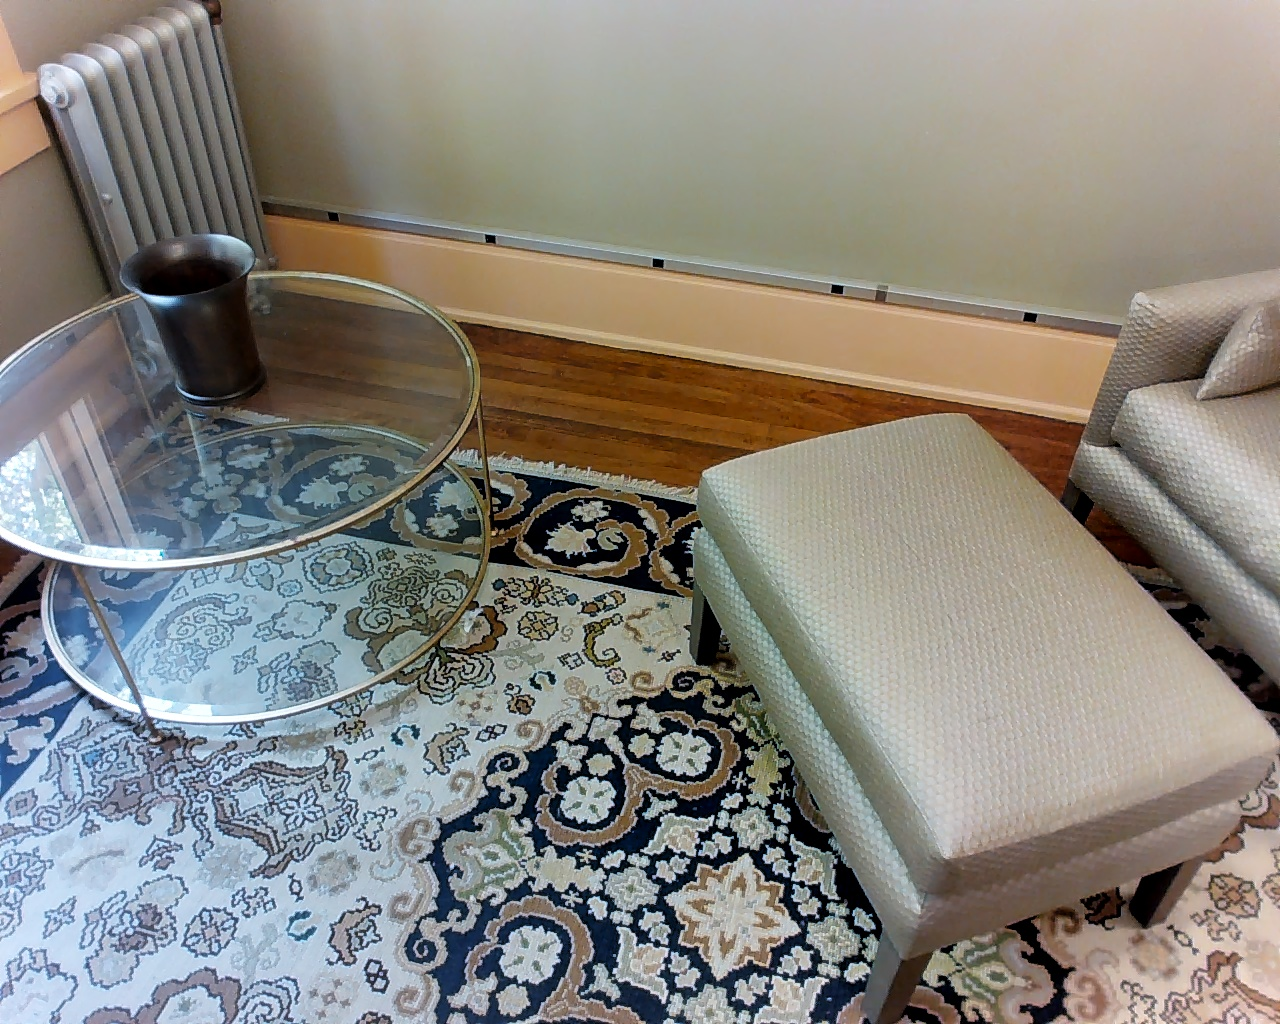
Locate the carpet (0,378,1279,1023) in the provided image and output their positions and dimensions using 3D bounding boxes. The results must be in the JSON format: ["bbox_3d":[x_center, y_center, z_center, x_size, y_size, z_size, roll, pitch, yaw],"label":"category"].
[{"bbox_3d":[0.100,0.600,1.700,3.140,0.010,2.060,11,42,12],"label":"carpet"}]

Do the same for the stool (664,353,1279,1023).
[{"bbox_3d":[0.470,0.250,1.720,0.580,0.530,0.870,-14,43,-15],"label":"stool"}]
